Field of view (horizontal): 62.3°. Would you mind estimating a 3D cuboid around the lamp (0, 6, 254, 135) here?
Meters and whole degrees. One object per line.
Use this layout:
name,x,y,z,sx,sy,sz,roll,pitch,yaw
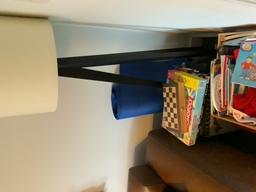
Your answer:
lamp,0.030,-0.180,1.280,0.460,1.510,0.470,27,118,59
